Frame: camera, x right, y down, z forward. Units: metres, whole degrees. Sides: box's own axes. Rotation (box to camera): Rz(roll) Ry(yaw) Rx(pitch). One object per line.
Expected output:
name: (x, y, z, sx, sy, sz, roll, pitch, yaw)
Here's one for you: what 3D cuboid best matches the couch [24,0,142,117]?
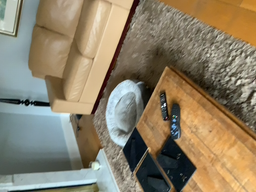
couch: (-0.680, -0.690, 2.620, 0.990, 0.820, 1.570, 55, 129, 47)
